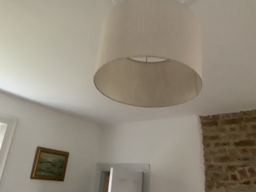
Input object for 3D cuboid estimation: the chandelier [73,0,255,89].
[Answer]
[{"bbox_3d":[0.160,-0.410,0.720,0.580,0.570,0.430,9,158,-12],"label":"chandelier"}]
